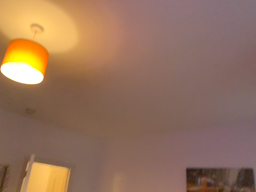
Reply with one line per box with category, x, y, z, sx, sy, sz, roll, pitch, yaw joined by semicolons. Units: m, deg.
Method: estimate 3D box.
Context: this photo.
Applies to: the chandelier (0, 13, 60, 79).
chandelier;-0.670;-0.330;1.440;0.250;0.360;0.230;-1;155;11
